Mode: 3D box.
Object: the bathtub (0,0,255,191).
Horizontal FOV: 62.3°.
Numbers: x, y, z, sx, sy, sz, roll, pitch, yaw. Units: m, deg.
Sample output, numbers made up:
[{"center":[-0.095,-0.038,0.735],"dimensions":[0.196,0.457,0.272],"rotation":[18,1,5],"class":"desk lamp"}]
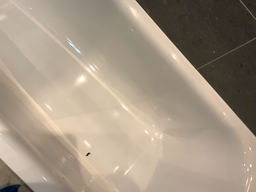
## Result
[{"center":[-0.250,-0.040,0.930],"dimensions":[1.640,0.580,0.690],"rotation":[49,65,-5],"class":"bathtub"}]
